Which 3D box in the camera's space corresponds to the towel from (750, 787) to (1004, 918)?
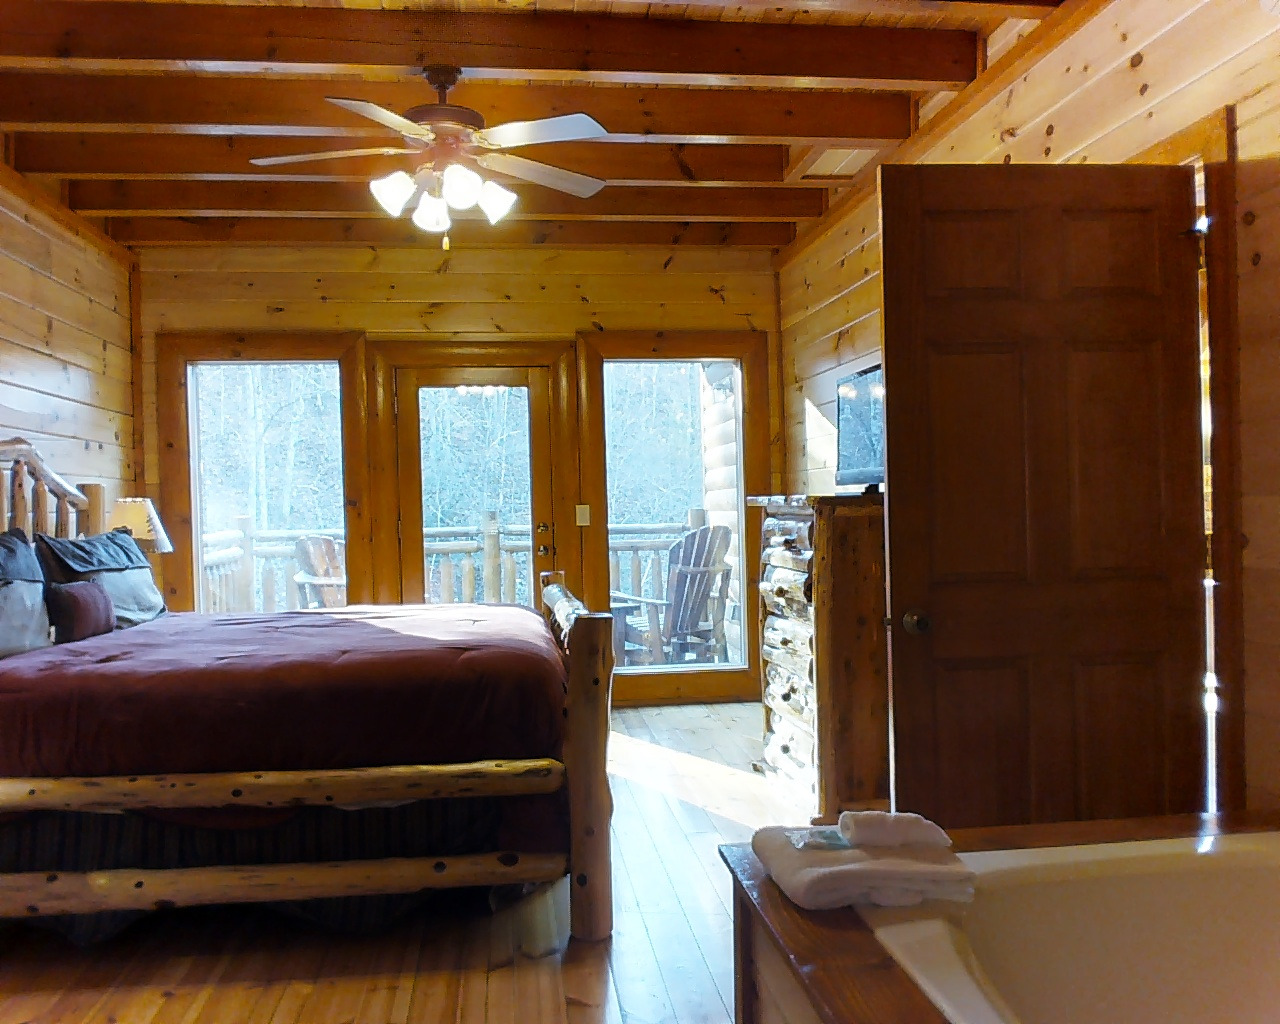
[{"bbox_3d":[0.400,0.580,1.870,0.350,0.120,0.270,0,0,-12],"label":"towel"}]
